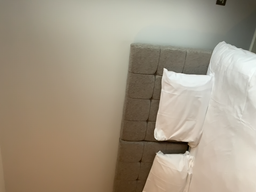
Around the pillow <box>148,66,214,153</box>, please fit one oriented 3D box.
[{"bbox_3d":[0.450,0.140,1.940,0.150,0.430,0.750,-78,-5,-68],"label":"pillow"}]
